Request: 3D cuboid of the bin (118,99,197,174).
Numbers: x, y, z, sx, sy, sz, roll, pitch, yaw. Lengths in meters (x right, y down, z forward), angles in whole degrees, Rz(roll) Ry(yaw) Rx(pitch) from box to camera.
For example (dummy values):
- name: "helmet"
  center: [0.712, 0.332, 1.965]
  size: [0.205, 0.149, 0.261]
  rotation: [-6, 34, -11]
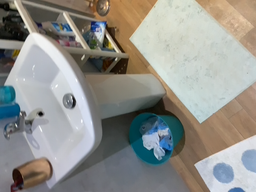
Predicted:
- name: "bin"
  center: [0.180, 0.230, 1.290]
  size: [0.260, 0.270, 0.310]
  rotation: [-43, 70, 32]

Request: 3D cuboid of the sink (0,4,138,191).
- name: "sink"
  center: [-0.290, 0.010, 0.860]
  size: [0.440, 0.150, 0.560]
  rotation: [-46, 68, 31]
